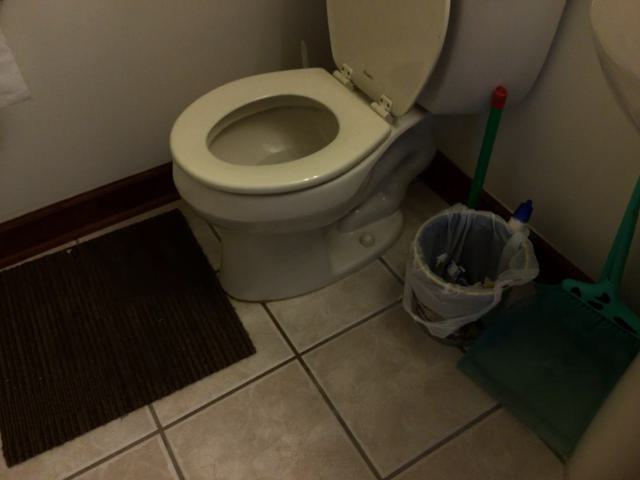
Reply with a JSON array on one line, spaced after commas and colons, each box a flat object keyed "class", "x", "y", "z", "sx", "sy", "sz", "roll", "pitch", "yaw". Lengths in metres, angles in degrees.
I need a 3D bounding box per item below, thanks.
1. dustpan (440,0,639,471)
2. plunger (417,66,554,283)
[{"class": "dustpan", "x": 0.450, "y": -0.050, "z": 0.830, "sx": 0.310, "sy": 0.920, "sz": 0.290, "roll": -25, "pitch": 52, "yaw": -20}, {"class": "plunger", "x": 0.330, "y": -0.120, "z": 1.220, "sx": 0.160, "sy": 0.440, "sz": 0.120, "roll": -25, "pitch": 52, "yaw": -20}]
